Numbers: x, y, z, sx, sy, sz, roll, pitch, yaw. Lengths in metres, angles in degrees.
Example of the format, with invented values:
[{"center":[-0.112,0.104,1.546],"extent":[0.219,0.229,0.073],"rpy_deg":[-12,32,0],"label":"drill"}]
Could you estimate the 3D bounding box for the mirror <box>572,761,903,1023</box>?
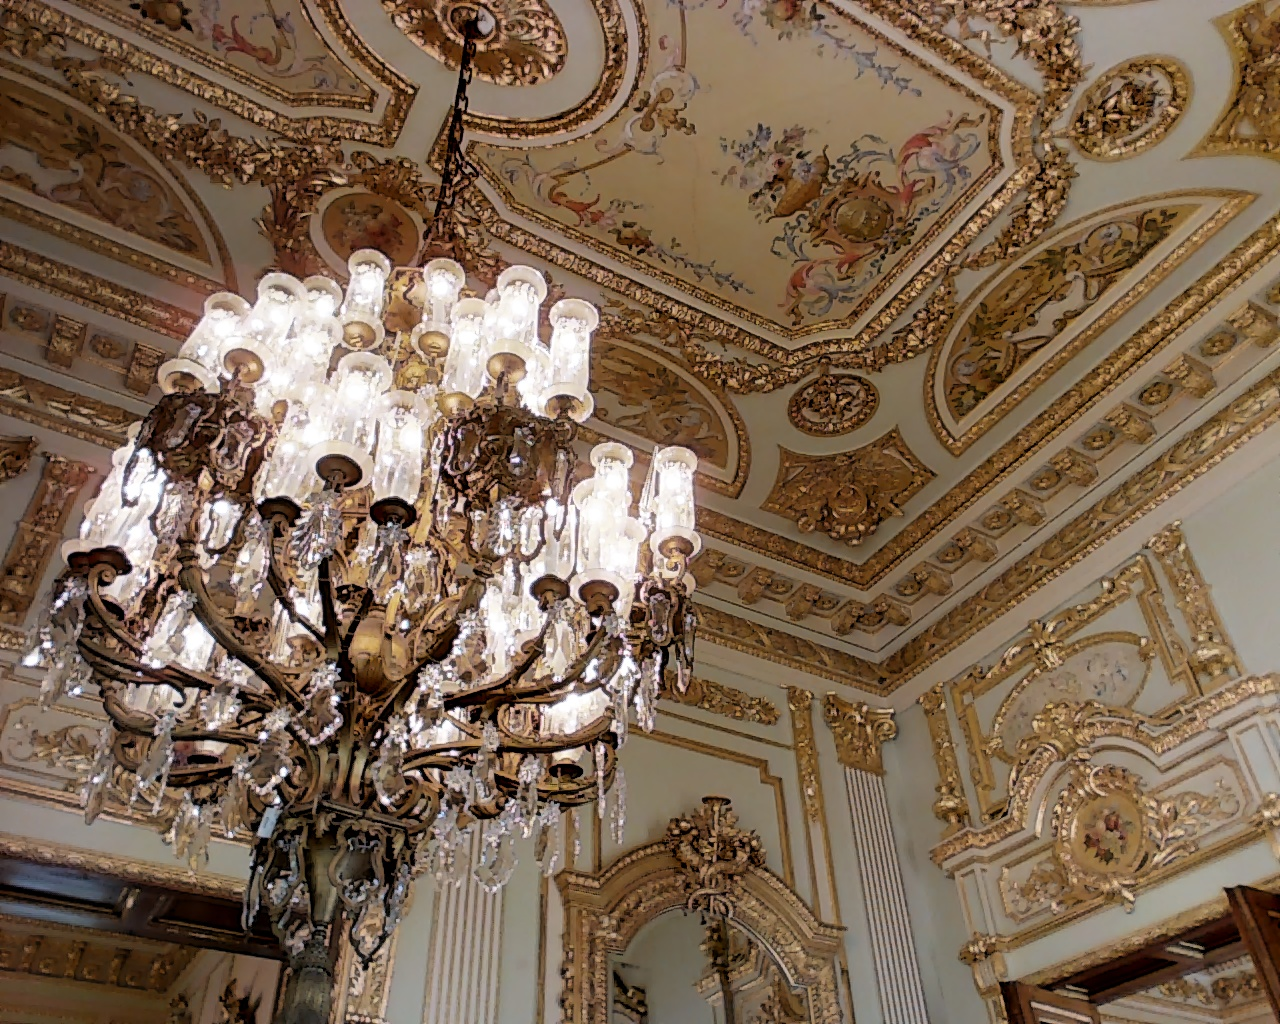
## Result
[{"center":[0.530,2.772,5.030],"extent":[1.789,2.961,0.270],"rpy_deg":[20,-45,-23],"label":"mirror"}]
